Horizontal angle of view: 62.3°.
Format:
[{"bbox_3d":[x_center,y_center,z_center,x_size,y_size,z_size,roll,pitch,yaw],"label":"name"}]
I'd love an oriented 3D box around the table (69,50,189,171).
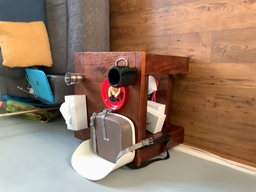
[{"bbox_3d":[-0.010,0.030,1.460,0.640,0.490,0.620,8,100,42],"label":"table"}]
